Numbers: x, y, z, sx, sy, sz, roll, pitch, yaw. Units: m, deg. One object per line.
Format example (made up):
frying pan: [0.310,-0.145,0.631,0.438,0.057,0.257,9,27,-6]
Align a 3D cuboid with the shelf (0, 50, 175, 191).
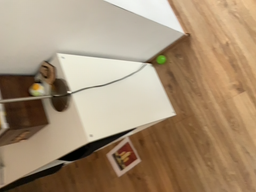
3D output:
shelf: [-0.560,0.320,1.580,1.600,0.760,0.410,-32,75,34]
